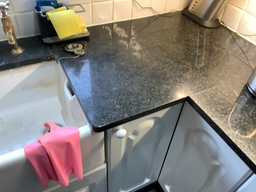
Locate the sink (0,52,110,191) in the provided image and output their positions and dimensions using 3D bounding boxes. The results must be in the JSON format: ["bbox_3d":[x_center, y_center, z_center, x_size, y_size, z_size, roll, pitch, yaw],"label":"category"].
[{"bbox_3d":[-0.430,0.130,0.780,0.590,0.260,0.450,-18,49,-21],"label":"sink"}]
